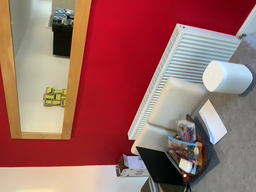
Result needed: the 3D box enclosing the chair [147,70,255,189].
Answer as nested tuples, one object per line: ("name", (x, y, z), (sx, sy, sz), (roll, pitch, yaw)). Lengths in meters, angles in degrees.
("chair", (0.680, 0.220, 1.320), (0.510, 0.960, 0.400), (-103, 26, -44))
